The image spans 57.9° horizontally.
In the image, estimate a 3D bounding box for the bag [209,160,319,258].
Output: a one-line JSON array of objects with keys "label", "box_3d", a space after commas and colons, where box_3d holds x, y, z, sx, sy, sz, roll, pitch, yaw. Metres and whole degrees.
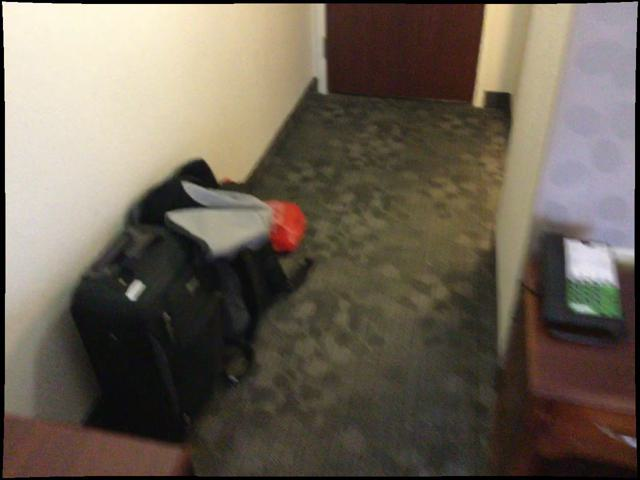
[{"label": "bag", "box_3d": [-0.210, -0.130, 2.310, 0.360, 0.240, 0.280, 7, 38, 9]}]

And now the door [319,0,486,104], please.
[{"label": "door", "box_3d": [0.450, -1.672, 2.960, 0.909, 1.951, 0.130, 7, 38, 9]}]

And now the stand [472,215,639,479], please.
[{"label": "stand", "box_3d": [0.659, 0.350, 1.380, 0.490, 0.580, 0.510, 7, 38, 9]}]
